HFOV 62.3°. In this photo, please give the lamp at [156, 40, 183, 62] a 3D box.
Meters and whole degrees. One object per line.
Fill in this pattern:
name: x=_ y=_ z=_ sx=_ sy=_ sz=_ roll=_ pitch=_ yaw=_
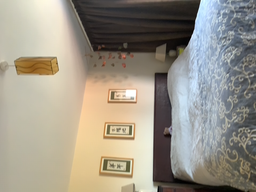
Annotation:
lamp: x=0.740 y=-0.800 z=3.800 sx=0.250 sy=0.450 sz=0.290 roll=77 pitch=-164 yaw=-66
